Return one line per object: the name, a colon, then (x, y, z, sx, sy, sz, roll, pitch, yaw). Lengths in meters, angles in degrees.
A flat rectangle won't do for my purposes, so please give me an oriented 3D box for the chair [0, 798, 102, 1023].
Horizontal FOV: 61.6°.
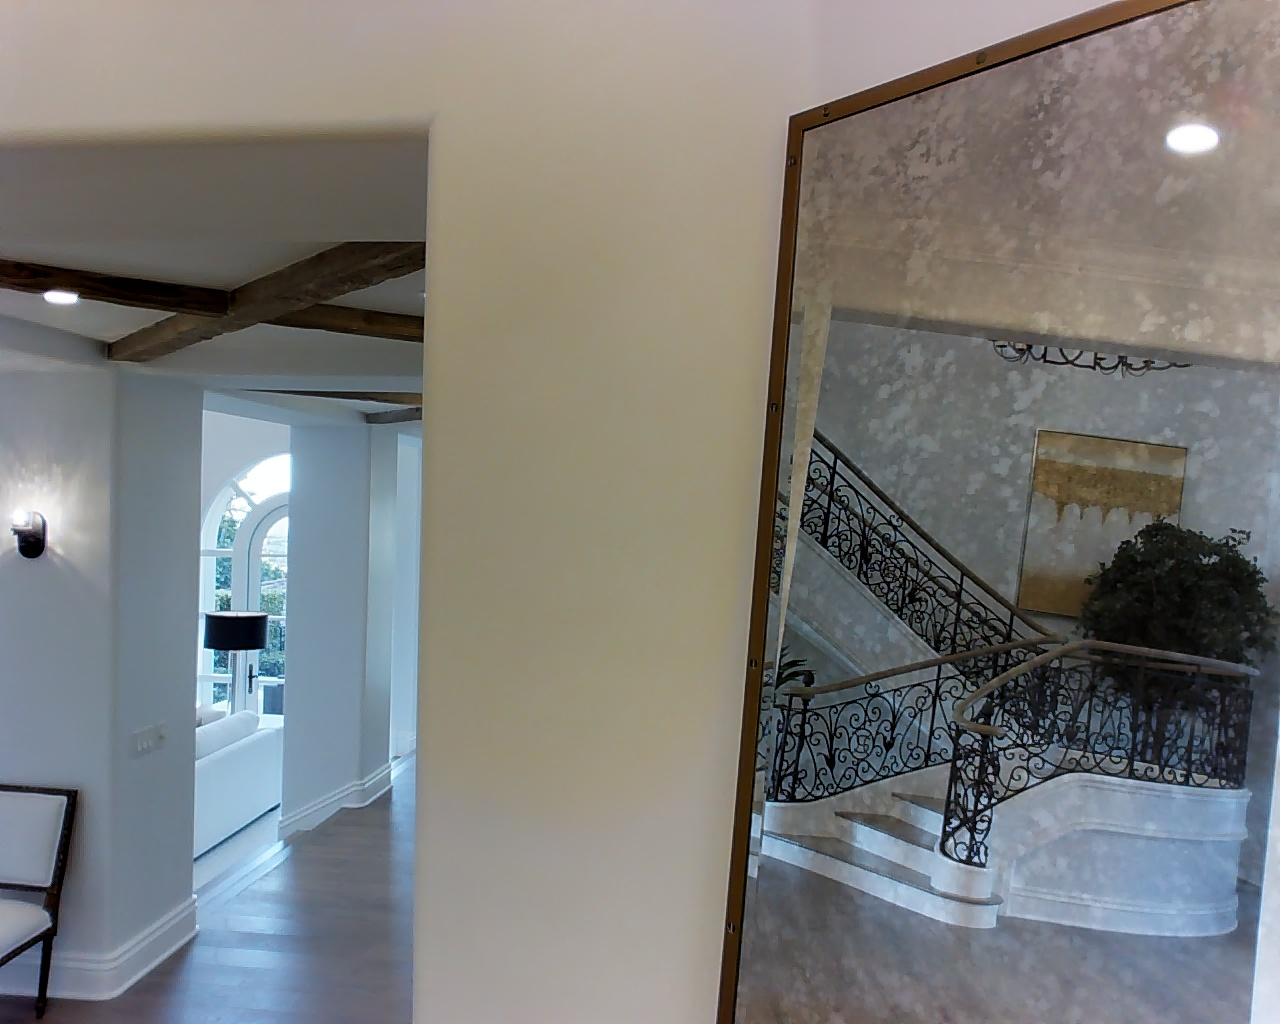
chair: (-2.609, 1.681, 4.350, 0.510, 0.870, 0.580, 1, 0, 7)
